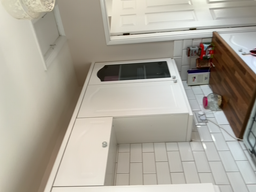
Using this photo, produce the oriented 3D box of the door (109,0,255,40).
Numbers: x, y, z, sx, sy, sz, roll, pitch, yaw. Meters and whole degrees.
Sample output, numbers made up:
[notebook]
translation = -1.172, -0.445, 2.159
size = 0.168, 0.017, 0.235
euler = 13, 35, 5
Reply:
[door]
translation = 0.820, -1.130, 2.720
size = 0.200, 2.060, 0.900
euler = 84, -176, -50
